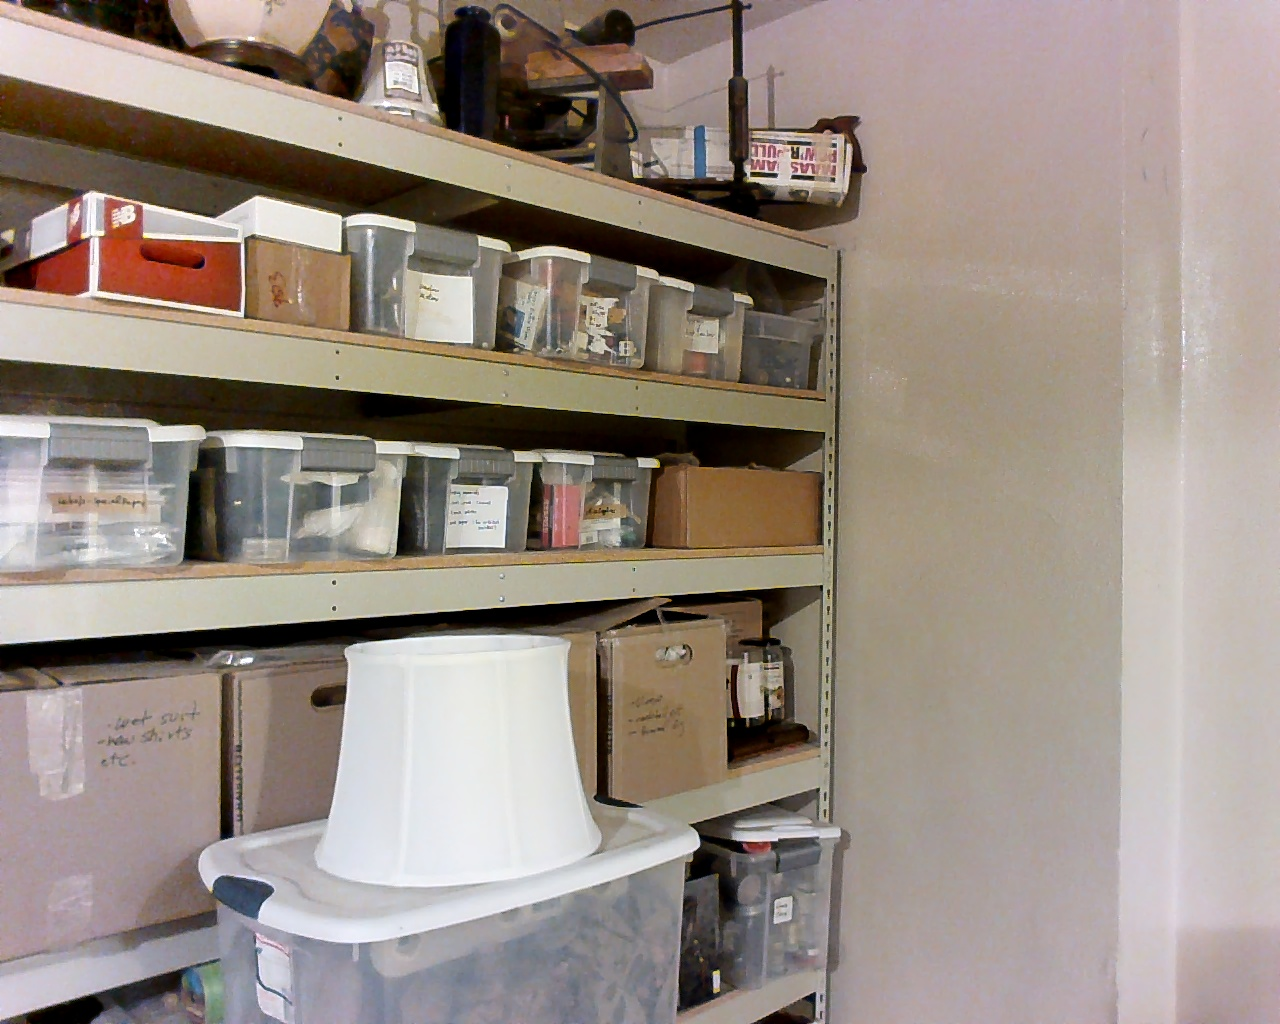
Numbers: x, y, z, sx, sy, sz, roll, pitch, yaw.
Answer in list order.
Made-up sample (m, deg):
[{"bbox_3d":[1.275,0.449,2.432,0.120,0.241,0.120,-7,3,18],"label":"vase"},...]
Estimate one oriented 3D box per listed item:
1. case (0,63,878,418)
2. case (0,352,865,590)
[{"bbox_3d":[-0.240,-0.390,2.020,1.640,0.300,0.470,0,0,-42],"label":"case"},{"bbox_3d":[-0.330,-0.050,2.030,1.750,0.280,0.550,0,1,-42],"label":"case"}]
